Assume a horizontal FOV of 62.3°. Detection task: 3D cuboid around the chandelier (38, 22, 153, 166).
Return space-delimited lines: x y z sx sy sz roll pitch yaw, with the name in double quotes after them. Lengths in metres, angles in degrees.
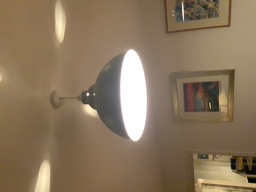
-0.120 0.000 1.040 0.450 0.380 0.520 2 87 -72 "chandelier"
